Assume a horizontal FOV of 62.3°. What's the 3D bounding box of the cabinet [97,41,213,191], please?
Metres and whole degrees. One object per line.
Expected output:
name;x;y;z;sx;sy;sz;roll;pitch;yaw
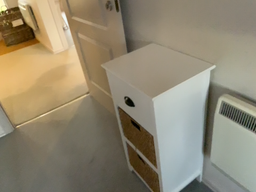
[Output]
cabinet;0.150;0.170;1.180;0.320;0.790;0.420;-27;39;-23

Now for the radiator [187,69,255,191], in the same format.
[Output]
radiator;0.550;0.300;0.760;0.150;0.580;0.720;-28;39;-24
